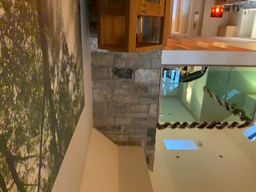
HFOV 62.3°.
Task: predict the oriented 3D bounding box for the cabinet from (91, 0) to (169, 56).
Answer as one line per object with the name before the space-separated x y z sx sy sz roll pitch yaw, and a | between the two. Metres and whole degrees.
cabinet | 0.060 -1.450 2.240 0.530 1.900 0.760 15 -156 33
